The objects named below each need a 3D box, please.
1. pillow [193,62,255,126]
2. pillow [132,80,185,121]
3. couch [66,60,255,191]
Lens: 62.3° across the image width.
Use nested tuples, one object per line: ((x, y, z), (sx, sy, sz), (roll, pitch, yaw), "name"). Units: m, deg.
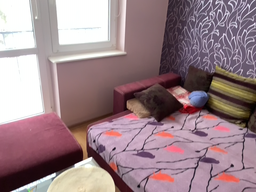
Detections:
((1.030, -0.030, 2.250), (0.170, 0.470, 0.480), (-18, 48, -39), "pillow")
((0.330, 0.030, 2.320), (0.410, 0.230, 0.370), (-18, 32, -38), "pillow")
((0.800, 0.480, 1.760), (1.530, 0.780, 2.490), (-18, 32, -38), "couch")
